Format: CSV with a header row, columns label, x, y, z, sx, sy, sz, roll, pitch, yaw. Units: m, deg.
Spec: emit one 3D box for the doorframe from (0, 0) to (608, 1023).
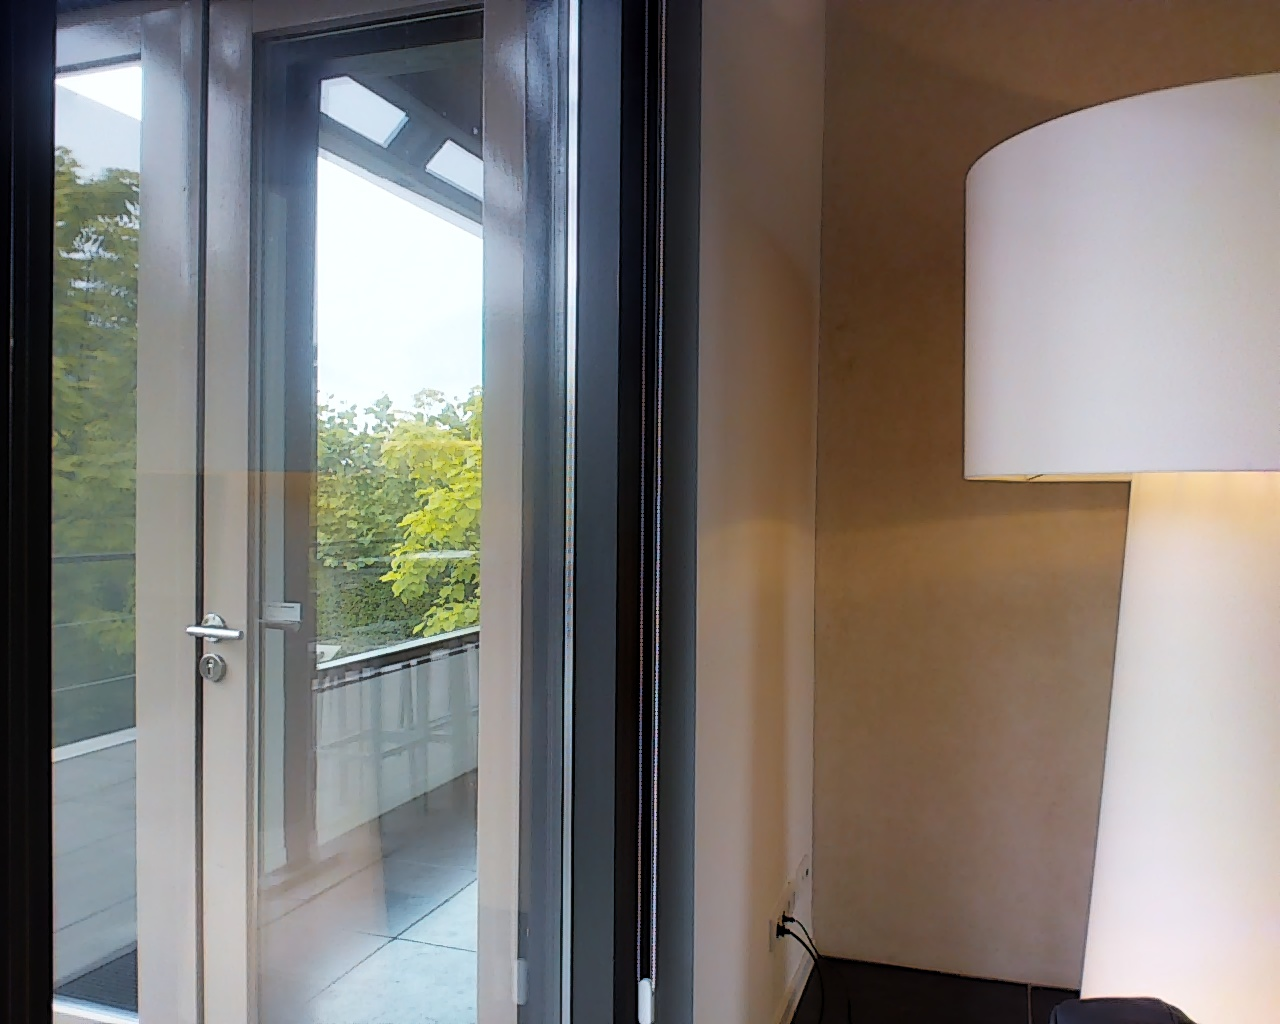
label,x,y,z,sx,sy,sz,roll,pitch,yaw
doorframe,-0.960,-0.280,2.190,1.840,3.211,0.160,1,1,19
